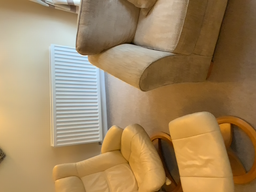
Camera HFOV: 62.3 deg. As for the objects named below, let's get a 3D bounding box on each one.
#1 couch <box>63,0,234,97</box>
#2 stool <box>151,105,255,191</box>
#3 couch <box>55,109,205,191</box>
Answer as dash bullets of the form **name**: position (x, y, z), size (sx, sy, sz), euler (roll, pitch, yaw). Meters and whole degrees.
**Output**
- **couch**: position (0.090, -0.720, 1.760), size (1.120, 0.830, 1.160), euler (31, 115, 53)
- **stool**: position (0.530, 0.370, 1.410), size (0.530, 0.440, 0.500), euler (-28, 67, 53)
- **couch**: position (-0.060, 0.680, 1.990), size (0.900, 0.930, 0.700), euler (-56, 45, 40)
